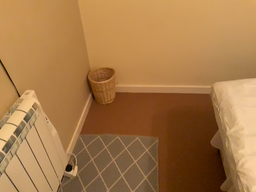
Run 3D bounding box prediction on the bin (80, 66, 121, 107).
[{"bbox_3d":[-0.260,-0.100,2.180,0.330,0.300,0.300,1,39,7],"label":"bin"}]
